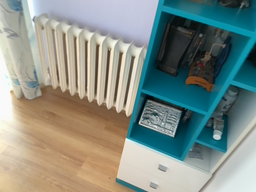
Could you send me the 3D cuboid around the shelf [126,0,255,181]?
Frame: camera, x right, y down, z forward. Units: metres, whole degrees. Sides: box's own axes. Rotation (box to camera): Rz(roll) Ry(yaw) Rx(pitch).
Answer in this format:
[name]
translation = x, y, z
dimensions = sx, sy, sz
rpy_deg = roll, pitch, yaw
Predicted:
[shelf]
translation = 0.360, -0.160, 0.860
dimensions = 0.470, 1.010, 0.420
rpy_deg = 23, 45, 11
